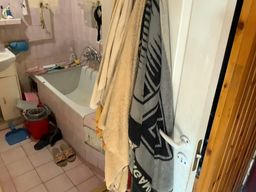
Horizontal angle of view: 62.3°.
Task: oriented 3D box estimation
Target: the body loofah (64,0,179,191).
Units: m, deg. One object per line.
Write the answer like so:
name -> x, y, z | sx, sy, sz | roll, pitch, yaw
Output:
body loofah -> -0.100, 0.100, 1.010 | 0.200, 1.260, 0.580 | -11, 30, -24
